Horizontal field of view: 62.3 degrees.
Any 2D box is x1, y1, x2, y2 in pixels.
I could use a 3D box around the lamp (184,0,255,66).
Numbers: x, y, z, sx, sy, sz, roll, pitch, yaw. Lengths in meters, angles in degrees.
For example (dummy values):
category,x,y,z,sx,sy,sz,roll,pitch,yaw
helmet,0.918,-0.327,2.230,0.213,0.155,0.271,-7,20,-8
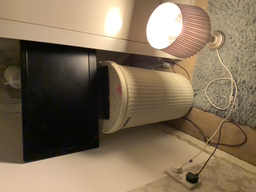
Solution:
category,x,y,z,sx,sy,sz,roll,pitch,yaw
lamp,0.520,-0.260,0.960,0.260,0.470,0.220,20,107,49
